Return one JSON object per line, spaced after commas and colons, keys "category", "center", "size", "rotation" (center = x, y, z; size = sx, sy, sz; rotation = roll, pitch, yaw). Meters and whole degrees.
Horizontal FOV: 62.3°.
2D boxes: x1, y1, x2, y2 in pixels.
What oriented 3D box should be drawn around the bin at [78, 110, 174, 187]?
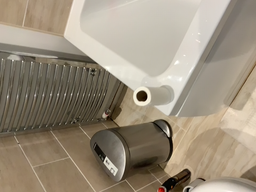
{"category": "bin", "center": [0.000, 0.270, 1.230], "size": [0.260, 0.440, 0.240], "rotation": [40, 116, 34]}
